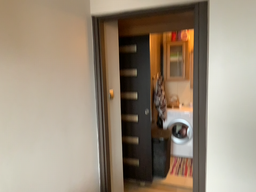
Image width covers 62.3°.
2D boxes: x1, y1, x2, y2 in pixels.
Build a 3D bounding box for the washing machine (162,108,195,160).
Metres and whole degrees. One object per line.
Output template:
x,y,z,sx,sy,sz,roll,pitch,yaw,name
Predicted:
0.940,0.670,3.920,0.550,0.800,0.510,1,8,18,washing machine
